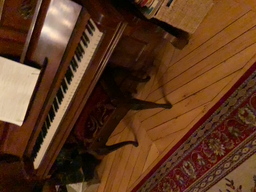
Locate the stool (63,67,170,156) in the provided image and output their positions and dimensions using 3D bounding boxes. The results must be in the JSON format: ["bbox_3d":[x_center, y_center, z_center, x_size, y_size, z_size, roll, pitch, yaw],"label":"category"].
[{"bbox_3d":[-0.100,0.130,1.630,0.510,0.560,0.350,-56,49,29],"label":"stool"}]
